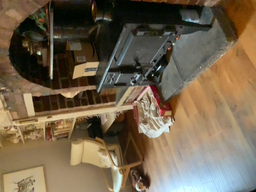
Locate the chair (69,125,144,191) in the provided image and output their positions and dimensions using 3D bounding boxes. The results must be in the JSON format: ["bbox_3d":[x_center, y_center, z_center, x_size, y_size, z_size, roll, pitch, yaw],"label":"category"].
[{"bbox_3d":[-0.410,1.100,3.570,0.630,0.960,0.850,109,146,-44],"label":"chair"}]
